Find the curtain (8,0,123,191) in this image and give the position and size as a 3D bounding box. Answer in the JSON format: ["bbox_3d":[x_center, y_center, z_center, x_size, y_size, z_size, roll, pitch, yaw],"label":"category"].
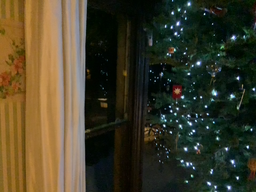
[{"bbox_3d":[-0.480,0.150,1.520,0.630,3.390,0.590,-2,-172,-29],"label":"curtain"}]
